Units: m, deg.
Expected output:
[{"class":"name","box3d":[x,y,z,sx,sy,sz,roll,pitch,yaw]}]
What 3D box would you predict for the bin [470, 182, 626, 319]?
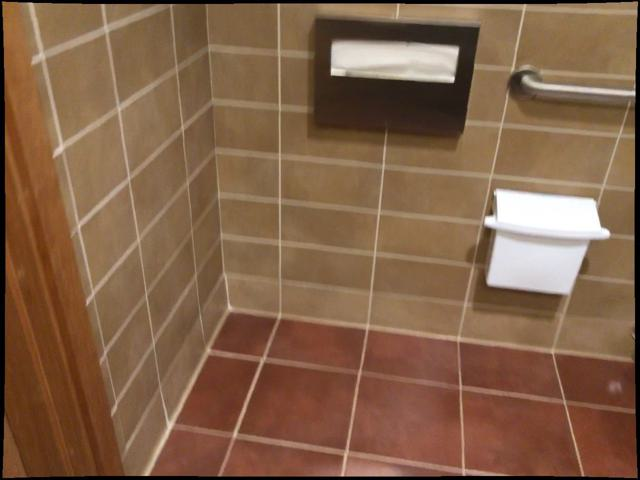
[{"class":"bin","box3d":[0.619,0.030,1.630,0.330,0.330,0.130,7,33,8]}]
